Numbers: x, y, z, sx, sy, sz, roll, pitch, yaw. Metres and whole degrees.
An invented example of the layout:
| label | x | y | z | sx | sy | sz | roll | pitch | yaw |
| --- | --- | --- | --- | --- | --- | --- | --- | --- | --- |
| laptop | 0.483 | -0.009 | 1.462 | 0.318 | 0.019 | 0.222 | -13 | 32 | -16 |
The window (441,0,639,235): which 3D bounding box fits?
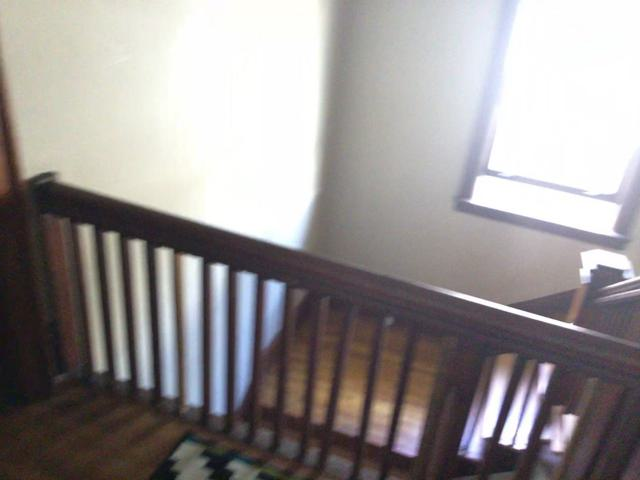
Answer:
| label | x | y | z | sx | sy | sz | roll | pitch | yaw |
| --- | --- | --- | --- | --- | --- | --- | --- | --- | --- |
| window | 1.390 | -0.850 | 3.500 | 1.070 | 1.470 | 0.300 | 10 | 24 | 16 |
